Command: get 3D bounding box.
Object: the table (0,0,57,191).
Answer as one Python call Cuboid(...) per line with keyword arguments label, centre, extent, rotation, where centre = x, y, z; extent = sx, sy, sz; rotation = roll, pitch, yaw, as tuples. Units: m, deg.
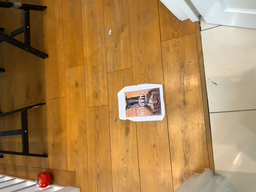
Cuboid(label="table", centre=(-1.110, -0.200, 1.500), extent=(0.830, 0.730, 1.590), rotation=(-7, 84, 31))
